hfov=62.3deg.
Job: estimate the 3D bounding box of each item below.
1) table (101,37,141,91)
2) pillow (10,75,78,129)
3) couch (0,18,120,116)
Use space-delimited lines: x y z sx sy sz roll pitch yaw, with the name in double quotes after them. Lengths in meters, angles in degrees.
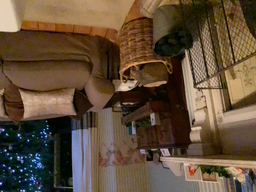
-0.090 -0.350 2.440 0.330 0.500 0.320 2 166 -24 "table"
-0.900 0.080 2.310 0.600 0.080 0.330 36 109 -21 "pillow"
-1.220 -0.220 2.170 2.060 0.720 0.900 0 166 -18 "couch"
